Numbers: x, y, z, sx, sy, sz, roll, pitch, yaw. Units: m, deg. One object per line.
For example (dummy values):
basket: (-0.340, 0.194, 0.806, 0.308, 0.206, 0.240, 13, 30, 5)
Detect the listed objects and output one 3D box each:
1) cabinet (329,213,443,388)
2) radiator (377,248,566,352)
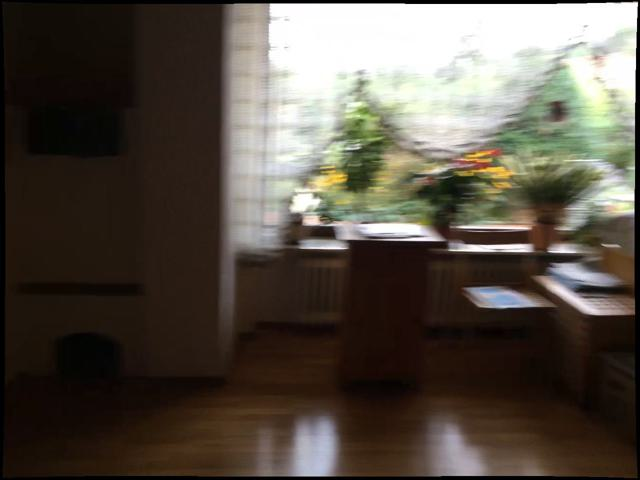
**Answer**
cabinet: (0.310, 0.300, 2.980, 0.490, 0.801, 0.400, 1, 15, -2)
radiator: (0.869, 0.350, 3.460, 0.989, 0.510, 0.380, 1, 15, -2)
